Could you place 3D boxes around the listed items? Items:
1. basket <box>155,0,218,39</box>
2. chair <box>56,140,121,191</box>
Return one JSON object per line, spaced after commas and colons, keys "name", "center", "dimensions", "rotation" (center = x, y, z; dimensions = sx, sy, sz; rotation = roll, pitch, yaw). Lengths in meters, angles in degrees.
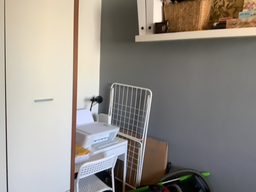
{"name": "basket", "center": [0.470, -0.670, 1.710], "dimensions": [0.380, 0.350, 0.310], "rotation": [8, 9, 37]}
{"name": "chair", "center": [-0.360, 0.840, 1.880], "dimensions": [0.410, 0.750, 0.370], "rotation": [9, 9, 39]}
